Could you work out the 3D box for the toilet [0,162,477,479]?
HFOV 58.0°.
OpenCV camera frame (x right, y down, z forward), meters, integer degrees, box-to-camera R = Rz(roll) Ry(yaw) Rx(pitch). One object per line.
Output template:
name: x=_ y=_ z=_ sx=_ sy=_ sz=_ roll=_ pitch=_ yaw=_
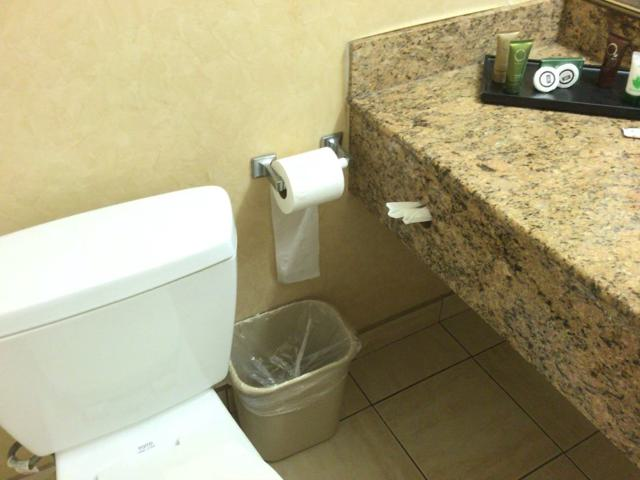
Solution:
toilet: x=-0.230 y=0.430 z=0.920 sx=0.510 sy=0.730 sz=0.760 roll=-20 pitch=44 yaw=-24
